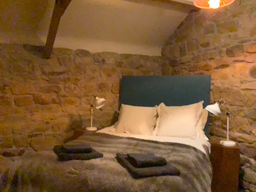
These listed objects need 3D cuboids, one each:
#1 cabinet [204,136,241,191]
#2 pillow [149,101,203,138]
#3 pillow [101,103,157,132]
[{"bbox_3d":[1.200,0.900,2.700,0.380,0.660,0.390,2,2,24],"label":"cabinet"},{"bbox_3d":[0.710,0.310,3.090,0.680,0.430,0.510,2,2,23],"label":"pillow"},{"bbox_3d":[0.030,0.320,3.360,0.740,0.350,0.520,2,2,21],"label":"pillow"}]
